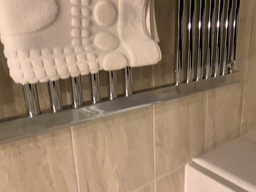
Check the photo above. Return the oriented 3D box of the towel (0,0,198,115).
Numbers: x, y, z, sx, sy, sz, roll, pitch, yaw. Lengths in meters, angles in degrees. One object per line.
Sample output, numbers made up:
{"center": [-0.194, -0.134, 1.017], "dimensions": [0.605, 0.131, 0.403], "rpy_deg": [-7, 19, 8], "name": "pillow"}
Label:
{"center": [-0.050, -0.160, 0.360], "dimensions": [0.120, 0.370, 0.290], "rpy_deg": [20, 117, 53], "name": "towel"}
